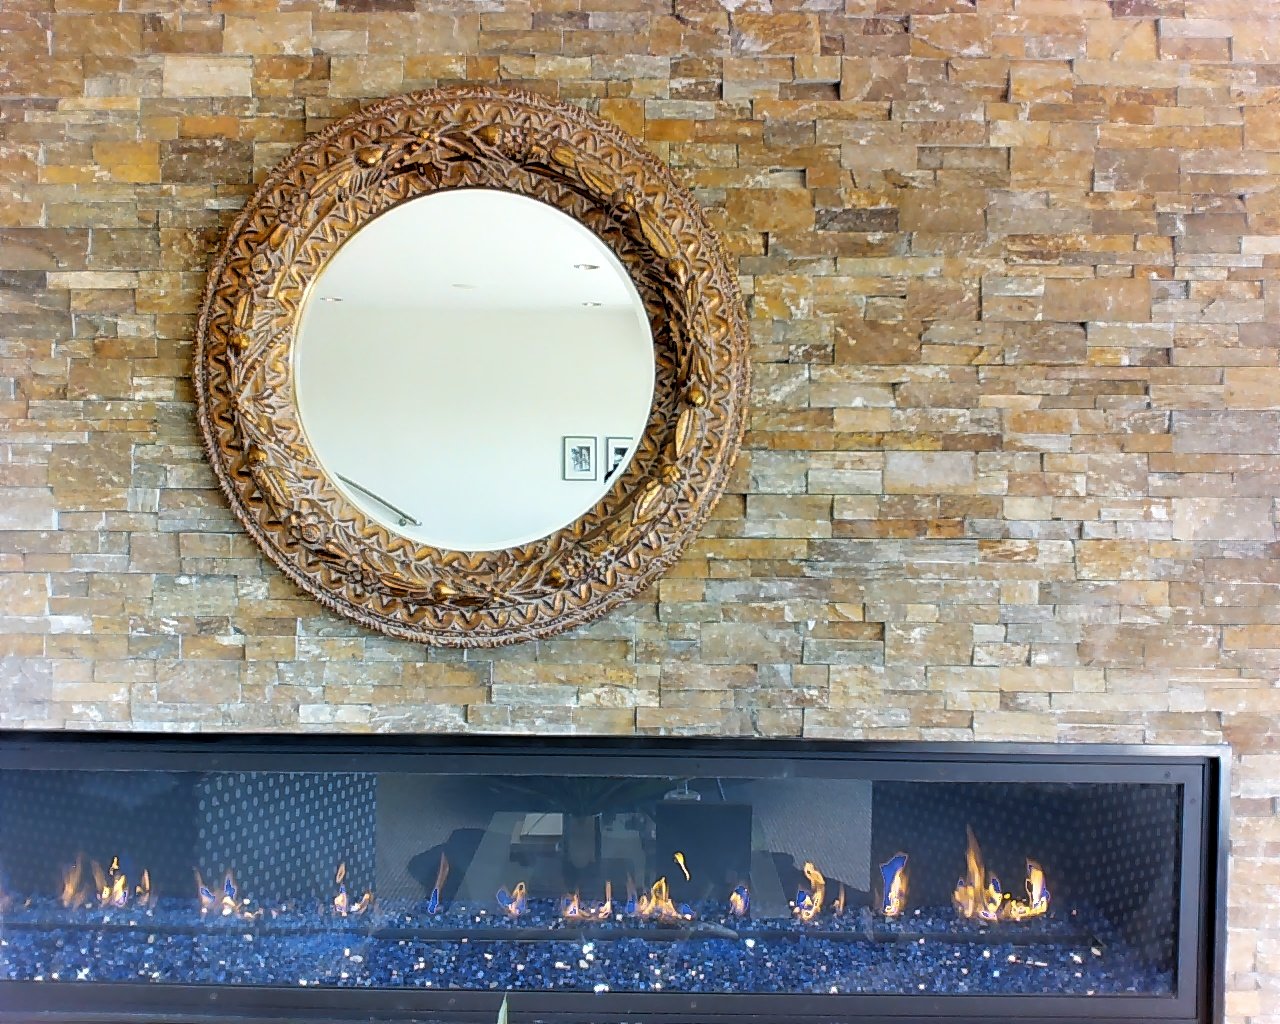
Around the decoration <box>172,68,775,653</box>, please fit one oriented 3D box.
[{"bbox_3d":[-0.330,-0.300,2.180,1.170,1.130,0.130,1,0,1],"label":"decoration"}]
